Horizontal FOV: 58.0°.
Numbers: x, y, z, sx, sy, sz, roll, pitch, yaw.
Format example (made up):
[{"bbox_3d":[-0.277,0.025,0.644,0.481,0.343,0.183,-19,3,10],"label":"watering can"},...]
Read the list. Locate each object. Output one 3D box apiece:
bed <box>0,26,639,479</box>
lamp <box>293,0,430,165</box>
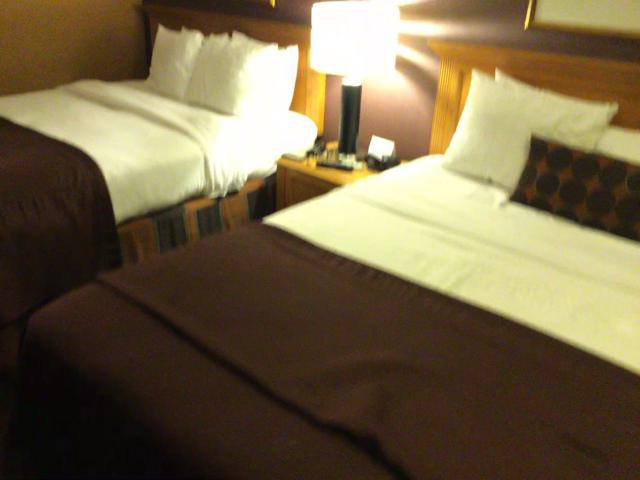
[{"bbox_3d":[0.410,0.180,1.620,1.650,1.280,2.050,23,31,36],"label":"bed"},{"bbox_3d":[0.180,-0.750,2.680,0.400,0.650,0.440,23,31,36],"label":"lamp"}]
